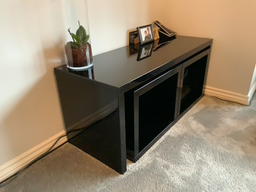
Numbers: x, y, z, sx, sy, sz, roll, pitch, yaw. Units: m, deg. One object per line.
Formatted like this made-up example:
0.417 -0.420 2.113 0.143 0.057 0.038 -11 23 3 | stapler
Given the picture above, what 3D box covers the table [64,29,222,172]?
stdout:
0.170 -0.090 1.310 0.410 0.450 0.980 20 33 34 | table
